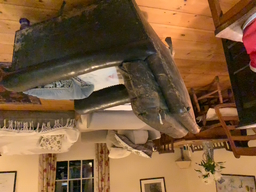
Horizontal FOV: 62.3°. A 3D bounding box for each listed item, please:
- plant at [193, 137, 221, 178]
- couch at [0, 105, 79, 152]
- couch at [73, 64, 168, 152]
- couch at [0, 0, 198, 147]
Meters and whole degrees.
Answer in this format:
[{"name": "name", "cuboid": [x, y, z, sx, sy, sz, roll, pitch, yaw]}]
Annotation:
[{"name": "plant", "cuboid": [1.110, 0.860, 3.010, 0.210, 0.530, 0.200, 0, 163, -13]}, {"name": "couch", "cuboid": [-2.060, 0.660, 4.090, 2.060, 0.680, 1.260, 2, 162, -18]}, {"name": "couch", "cuboid": [-0.300, 0.330, 3.140, 0.960, 0.810, 1.910, 1, 163, -15]}, {"name": "couch", "cuboid": [-0.180, -0.160, 1.440, 1.080, 0.870, 0.780, -10, 162, 20]}]
